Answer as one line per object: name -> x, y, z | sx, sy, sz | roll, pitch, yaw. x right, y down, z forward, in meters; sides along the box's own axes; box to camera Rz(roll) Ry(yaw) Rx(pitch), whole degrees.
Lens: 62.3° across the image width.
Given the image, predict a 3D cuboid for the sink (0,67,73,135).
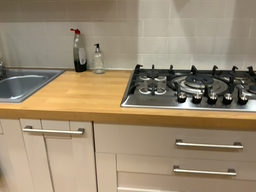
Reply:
sink -> -0.570, -0.010, 1.170 | 0.350, 0.170, 0.520 | 2, 22, 6
